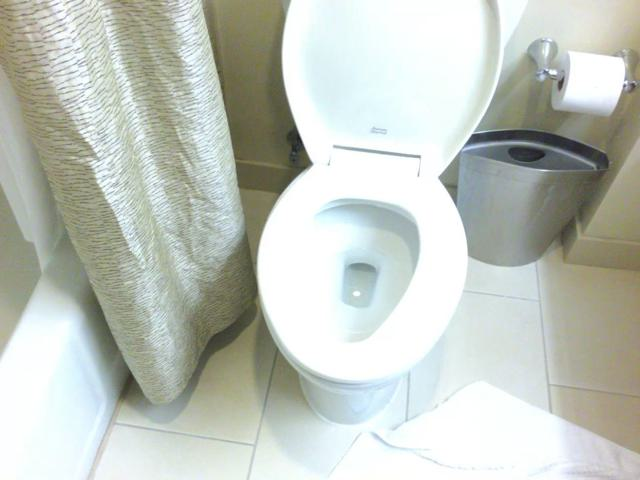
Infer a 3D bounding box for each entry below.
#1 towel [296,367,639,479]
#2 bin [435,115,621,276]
[{"bbox_3d":[0.360,0.490,1.090,0.810,0.040,0.400,8,51,6],"label":"towel"},{"bbox_3d":[0.470,-0.100,1.380,0.330,0.320,0.170,8,51,6],"label":"bin"}]
